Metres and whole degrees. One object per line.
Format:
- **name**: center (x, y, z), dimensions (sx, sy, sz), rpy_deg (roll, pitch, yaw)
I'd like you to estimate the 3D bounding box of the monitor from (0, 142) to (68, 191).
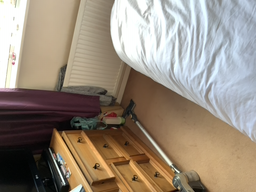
- **monitor**: center (-0.830, 0.600, 1.580), dimensions (0.710, 0.590, 0.050), rpy_deg (38, 116, 46)
